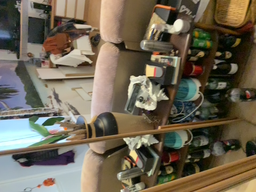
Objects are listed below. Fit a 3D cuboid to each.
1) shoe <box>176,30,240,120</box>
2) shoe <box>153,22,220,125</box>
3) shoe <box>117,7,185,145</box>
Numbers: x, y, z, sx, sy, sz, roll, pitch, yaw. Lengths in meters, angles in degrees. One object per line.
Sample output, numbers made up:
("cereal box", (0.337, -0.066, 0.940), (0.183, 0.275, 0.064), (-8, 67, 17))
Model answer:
("shoe", (0.580, -0.150, 1.570), (0.180, 0.270, 0.610), (32, 118, 53))
("shoe", (0.370, -0.140, 1.400), (0.190, 0.210, 0.620), (35, 121, 52))
("shoe", (0.120, -0.130, 1.380), (0.340, 0.150, 0.790), (27, 115, 54))
